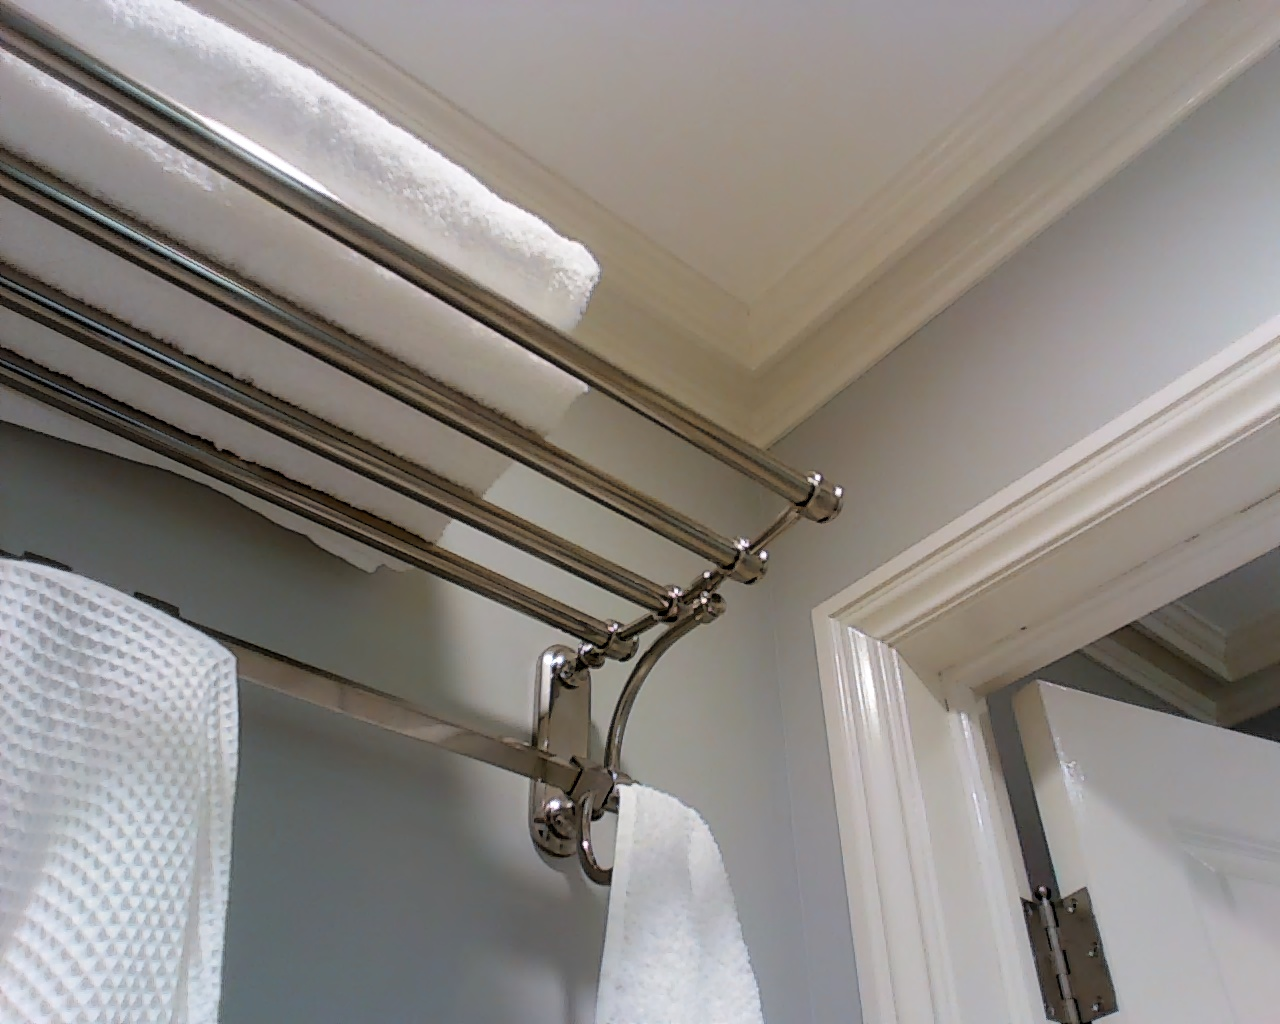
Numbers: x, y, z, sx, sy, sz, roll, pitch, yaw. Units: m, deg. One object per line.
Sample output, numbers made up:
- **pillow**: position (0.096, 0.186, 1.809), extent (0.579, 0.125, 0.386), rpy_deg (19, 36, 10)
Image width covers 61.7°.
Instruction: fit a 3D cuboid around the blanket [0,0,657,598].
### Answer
- **blanket**: position (-0.220, -0.160, 0.630), extent (0.380, 0.200, 0.260), rpy_deg (27, -47, -27)
